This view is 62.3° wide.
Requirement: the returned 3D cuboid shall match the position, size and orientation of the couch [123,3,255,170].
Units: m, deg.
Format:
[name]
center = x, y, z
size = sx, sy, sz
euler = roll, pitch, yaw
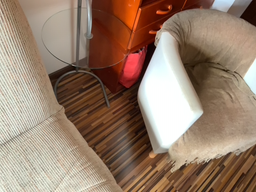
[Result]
[couch]
center = 0.400, -0.030, 1.270
size = 0.640, 0.640, 0.690
euler = -2, 59, -16
